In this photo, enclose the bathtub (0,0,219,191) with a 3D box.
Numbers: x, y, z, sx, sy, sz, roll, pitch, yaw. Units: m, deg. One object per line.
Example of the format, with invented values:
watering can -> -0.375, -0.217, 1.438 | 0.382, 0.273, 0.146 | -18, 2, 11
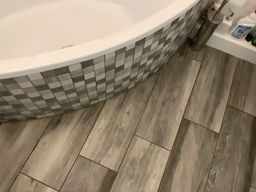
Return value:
bathtub -> -0.340, -0.320, 1.110 | 1.300, 0.530, 1.280 | 23, 67, 3
